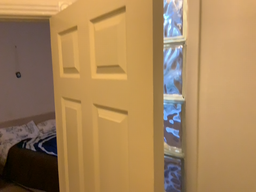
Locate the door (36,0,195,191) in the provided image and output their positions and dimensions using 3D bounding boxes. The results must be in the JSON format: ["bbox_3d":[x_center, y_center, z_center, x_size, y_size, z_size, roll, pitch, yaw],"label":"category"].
[{"bbox_3d":[-0.140,0.540,0.930,0.100,2.020,0.890,-7,10,-39],"label":"door"}]
